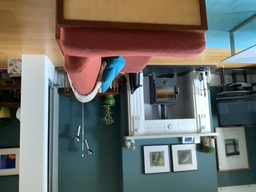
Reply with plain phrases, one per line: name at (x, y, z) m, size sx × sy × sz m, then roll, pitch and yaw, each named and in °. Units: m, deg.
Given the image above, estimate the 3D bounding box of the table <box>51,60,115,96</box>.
table at (-0.780, -0.300, 3.810) m, size 1.030 × 0.510 × 0.600 m, roll -1°, pitch 173°, yaw -8°

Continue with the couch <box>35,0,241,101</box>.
couch at (-0.090, -0.430, 1.680) m, size 0.830 × 0.770 × 1.650 m, roll -1°, pitch 173°, yaw -11°
